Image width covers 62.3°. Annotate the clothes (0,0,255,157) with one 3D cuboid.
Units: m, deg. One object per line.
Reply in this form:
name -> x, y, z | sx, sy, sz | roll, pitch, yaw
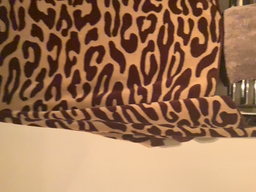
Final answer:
clothes -> 0.480, -0.150, 0.580 | 0.240, 1.830, 0.560 | -89, -1, -85
